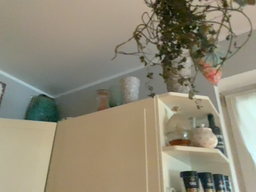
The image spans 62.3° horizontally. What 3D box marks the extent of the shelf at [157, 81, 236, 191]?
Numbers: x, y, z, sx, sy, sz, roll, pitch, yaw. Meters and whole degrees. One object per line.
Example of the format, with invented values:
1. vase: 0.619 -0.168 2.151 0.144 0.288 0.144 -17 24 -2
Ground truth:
1. shelf: 0.300 0.360 0.840 0.180 0.740 0.360 -16 -32 28
